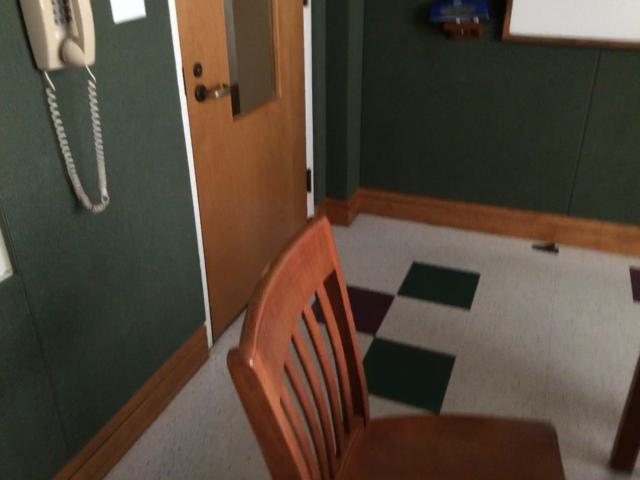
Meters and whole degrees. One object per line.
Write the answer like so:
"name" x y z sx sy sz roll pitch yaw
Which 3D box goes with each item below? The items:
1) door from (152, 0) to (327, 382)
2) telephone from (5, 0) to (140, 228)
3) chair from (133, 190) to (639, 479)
"door" -0.220 -0.720 2.030 0.090 2.260 1.020 9 28 20
"telephone" -0.510 -0.300 1.210 0.120 0.530 0.130 9 28 21
"chair" 0.170 0.460 1.010 0.580 0.880 0.580 9 28 21
